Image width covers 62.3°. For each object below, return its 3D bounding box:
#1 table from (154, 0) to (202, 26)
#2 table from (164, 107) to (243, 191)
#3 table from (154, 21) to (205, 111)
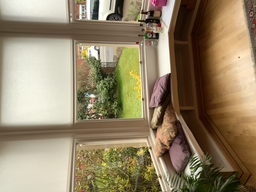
[{"bbox_3d":[0.700,-1.410,2.840,0.390,0.480,0.780,-106,19,-51],"label":"table"},{"bbox_3d":[0.820,0.580,2.510,0.830,0.460,0.460,-106,19,-51],"label":"table"},{"bbox_3d":[0.700,-0.390,3.010,0.470,0.460,1.150,142,127,-75],"label":"table"}]
